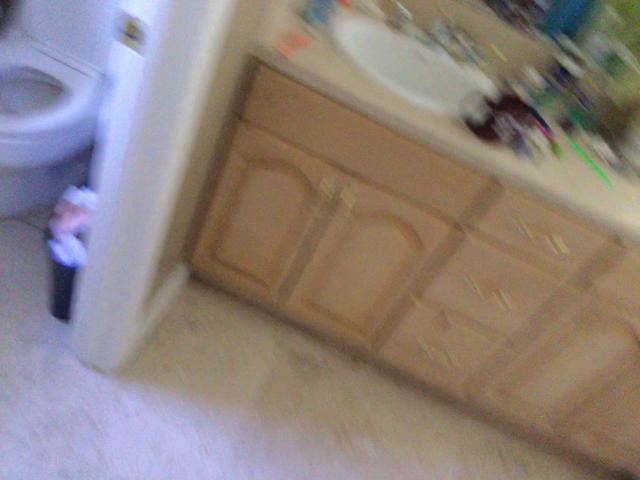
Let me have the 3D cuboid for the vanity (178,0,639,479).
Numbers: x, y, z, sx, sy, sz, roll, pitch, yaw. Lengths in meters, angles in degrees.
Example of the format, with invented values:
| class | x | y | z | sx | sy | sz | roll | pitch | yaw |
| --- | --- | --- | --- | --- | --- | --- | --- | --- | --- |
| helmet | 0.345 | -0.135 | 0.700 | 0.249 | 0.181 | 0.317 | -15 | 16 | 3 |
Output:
| class | x | y | z | sx | sy | sz | roll | pitch | yaw |
| --- | --- | --- | --- | --- | --- | --- | --- | --- | --- |
| vanity | 0.510 | 0.020 | 1.760 | 1.590 | 0.800 | 0.670 | 26 | 40 | 0 |
